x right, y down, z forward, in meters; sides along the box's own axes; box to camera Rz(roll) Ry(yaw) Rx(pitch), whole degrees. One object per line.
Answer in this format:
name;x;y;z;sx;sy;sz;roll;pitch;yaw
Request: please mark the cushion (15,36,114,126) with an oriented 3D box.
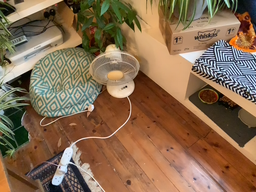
cushion;-0.490;-0.140;1.660;0.590;0.240;0.480;-25;55;-13
